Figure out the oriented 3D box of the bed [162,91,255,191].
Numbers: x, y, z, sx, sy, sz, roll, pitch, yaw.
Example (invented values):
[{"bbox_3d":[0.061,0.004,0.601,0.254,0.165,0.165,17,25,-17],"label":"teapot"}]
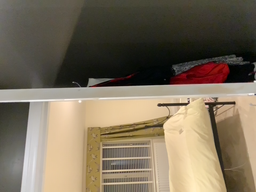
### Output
[{"bbox_3d":[1.030,1.200,3.020,1.530,0.640,2.120,97,172,-70],"label":"bed"}]
